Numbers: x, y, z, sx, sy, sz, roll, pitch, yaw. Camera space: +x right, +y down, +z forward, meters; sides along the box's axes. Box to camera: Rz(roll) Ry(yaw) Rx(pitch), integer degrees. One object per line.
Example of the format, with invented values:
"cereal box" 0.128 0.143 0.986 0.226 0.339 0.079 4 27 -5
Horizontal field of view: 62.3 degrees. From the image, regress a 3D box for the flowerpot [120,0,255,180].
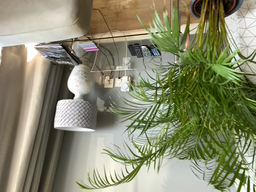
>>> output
"flowerpot" 0.370 -0.230 1.340 0.650 1.330 0.550 -1 166 13
